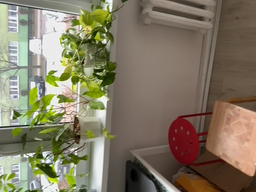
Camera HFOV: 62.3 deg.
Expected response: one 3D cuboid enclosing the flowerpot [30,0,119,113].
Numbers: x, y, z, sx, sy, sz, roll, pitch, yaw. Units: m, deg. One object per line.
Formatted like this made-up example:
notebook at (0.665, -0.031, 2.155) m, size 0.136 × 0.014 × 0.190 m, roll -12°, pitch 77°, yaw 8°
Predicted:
flowerpot at (-0.350, -0.240, 1.290) m, size 0.430 × 0.410 × 0.570 m, roll 21°, pitch 109°, yaw 60°
